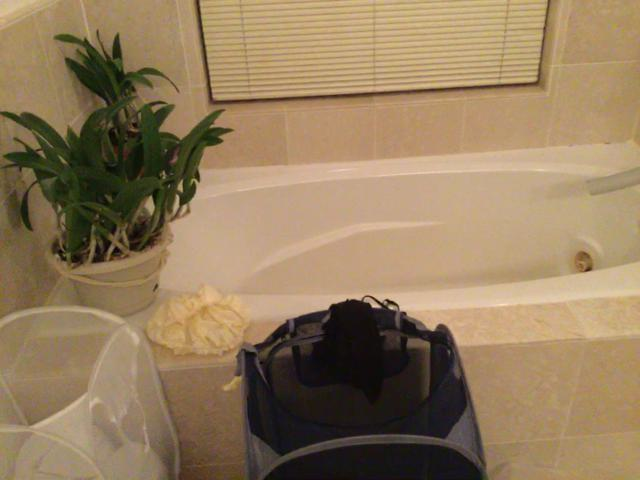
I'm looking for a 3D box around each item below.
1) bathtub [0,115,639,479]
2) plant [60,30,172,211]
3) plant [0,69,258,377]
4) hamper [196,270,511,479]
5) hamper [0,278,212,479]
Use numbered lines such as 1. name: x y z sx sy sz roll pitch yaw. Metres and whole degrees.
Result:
1. bathtub: 0.270 0.160 1.770 1.850 0.530 1.090 -7 31 2
2. plant: -0.620 -0.370 1.820 0.160 0.500 0.220 -6 30 1
3. plant: -0.410 -0.060 1.270 0.460 0.460 0.470 -6 30 1
4. hamper: 0.070 0.480 1.130 0.430 0.700 0.390 -6 30 1
5. hamper: -0.480 0.490 1.190 0.360 0.690 0.390 -6 30 1
